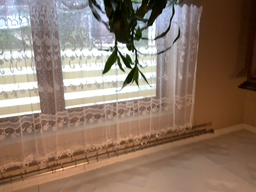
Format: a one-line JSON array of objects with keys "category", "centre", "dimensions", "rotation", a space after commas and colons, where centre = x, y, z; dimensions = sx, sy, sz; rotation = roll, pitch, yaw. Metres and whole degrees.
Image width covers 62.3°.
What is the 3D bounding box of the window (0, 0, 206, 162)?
[{"category": "window", "centre": [-0.250, -0.210, 1.750], "dimensions": [2.090, 1.120, 0.220], "rotation": [-8, -164, -26]}]
